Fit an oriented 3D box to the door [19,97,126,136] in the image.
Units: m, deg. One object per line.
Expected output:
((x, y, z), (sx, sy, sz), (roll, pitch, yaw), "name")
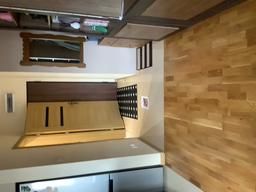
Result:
((-1.160, 0.400, 4.660), (0.910, 2.120, 0.100), (-109, 26, -42), "door")
